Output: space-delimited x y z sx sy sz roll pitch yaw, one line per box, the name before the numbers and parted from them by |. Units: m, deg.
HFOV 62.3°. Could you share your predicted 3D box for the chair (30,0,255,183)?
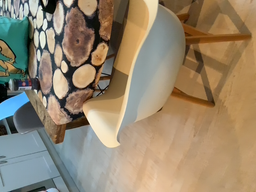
chair | 0.100 -0.200 0.950 0.630 0.800 0.620 39 123 40
